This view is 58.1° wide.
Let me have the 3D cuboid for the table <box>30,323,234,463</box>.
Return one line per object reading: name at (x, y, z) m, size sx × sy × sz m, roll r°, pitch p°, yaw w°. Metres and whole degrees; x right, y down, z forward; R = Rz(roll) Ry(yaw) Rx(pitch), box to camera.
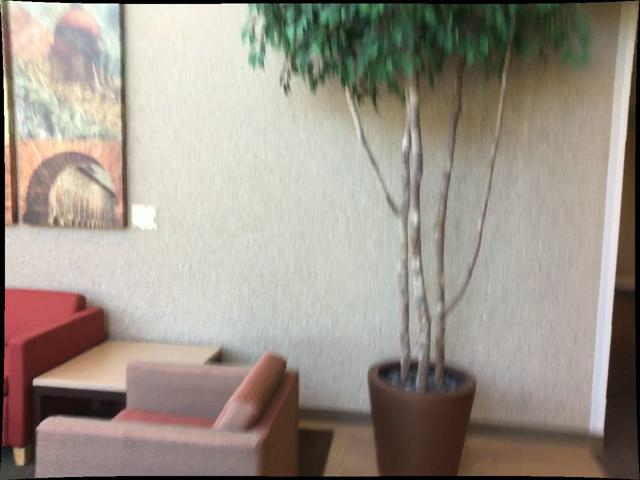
table at (-1.008, 0.821, 3.300) m, size 0.789 × 0.421 × 0.850 m, roll 2°, pitch 9°, yaw 10°
